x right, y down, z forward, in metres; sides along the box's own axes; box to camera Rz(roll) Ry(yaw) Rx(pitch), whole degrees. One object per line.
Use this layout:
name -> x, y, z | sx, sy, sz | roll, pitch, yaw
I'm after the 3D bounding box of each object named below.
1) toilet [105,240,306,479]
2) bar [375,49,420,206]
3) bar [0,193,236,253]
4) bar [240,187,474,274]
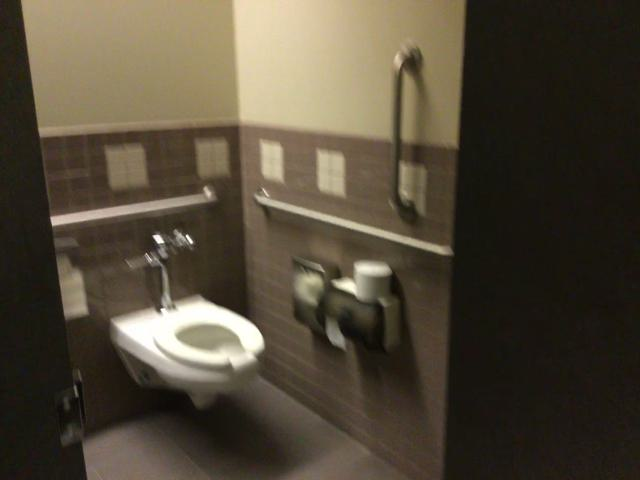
toilet -> -0.450, 0.400, 2.250 | 0.500, 0.620, 0.640 | -10, 18, -38
bar -> 0.240, -0.350, 1.820 | 0.060, 0.470, 0.110 | -10, 18, -38
bar -> -0.750, -0.080, 2.230 | 0.930, 0.110, 0.090 | -10, 18, -38
bar -> 0.050, -0.070, 2.130 | 0.080, 0.100, 1.180 | -10, 18, -38
